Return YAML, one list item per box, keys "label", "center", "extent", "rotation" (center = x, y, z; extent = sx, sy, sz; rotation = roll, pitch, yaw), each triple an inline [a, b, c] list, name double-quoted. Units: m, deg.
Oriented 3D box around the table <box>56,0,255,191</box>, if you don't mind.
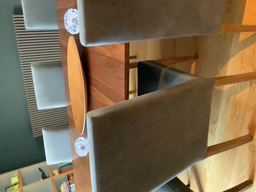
- label: "table"
  center: [0.060, -0.140, 1.390]
  extent: [0.960, 0.730, 2.560]
  rotation: [33, 128, 53]
